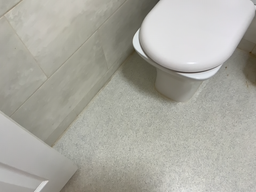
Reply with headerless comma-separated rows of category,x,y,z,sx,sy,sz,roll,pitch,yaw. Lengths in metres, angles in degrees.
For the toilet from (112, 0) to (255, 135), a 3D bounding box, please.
toilet,0.310,-0.320,0.890,0.420,0.790,0.610,30,67,19
